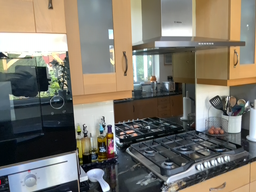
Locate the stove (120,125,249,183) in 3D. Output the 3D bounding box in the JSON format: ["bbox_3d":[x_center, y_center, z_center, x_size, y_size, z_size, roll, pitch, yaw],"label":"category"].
[{"bbox_3d":[0.370,0.360,1.520,0.670,0.060,0.580,-6,10,-25],"label":"stove"}]
